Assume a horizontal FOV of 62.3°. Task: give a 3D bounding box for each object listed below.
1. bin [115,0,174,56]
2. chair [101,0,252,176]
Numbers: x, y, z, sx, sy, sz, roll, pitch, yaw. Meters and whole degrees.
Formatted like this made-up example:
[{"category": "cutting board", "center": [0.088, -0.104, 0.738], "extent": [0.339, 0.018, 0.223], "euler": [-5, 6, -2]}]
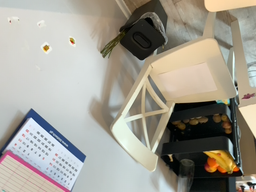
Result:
[{"category": "bin", "center": [0.120, -0.490, 1.410], "extent": [0.270, 0.360, 0.190], "euler": [-16, 128, 33]}, {"category": "chair", "center": [0.330, -0.060, 1.310], "extent": [0.550, 0.900, 0.480], "euler": [-17, 127, 34]}]
